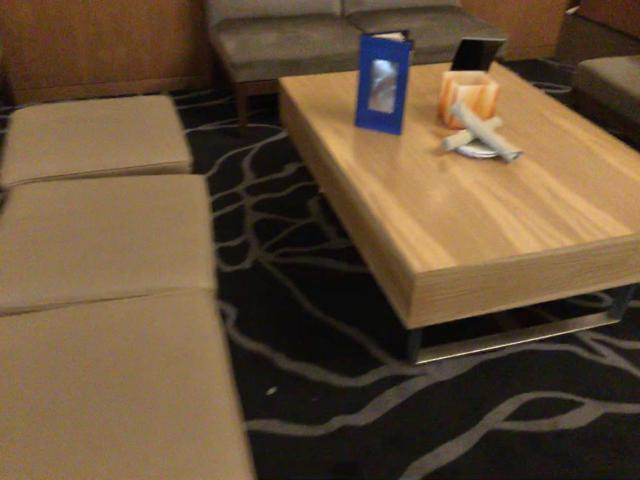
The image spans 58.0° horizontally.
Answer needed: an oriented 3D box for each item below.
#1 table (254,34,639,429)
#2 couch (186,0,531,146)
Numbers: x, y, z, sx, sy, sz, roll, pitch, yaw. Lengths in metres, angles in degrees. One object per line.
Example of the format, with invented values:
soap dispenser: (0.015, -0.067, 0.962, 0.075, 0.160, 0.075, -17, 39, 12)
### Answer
table: (0.470, -0.210, 1.930, 1.060, 0.460, 1.380, -11, 38, -15)
couch: (0.150, -1.130, 2.930, 1.520, 0.820, 0.820, -11, 38, -15)
